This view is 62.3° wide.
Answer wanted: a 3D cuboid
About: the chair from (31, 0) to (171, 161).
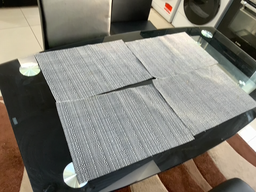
[{"bbox_3d":[-0.260,-0.150,1.290,0.420,1.050,0.560,-16,57,-29],"label":"chair"}]
